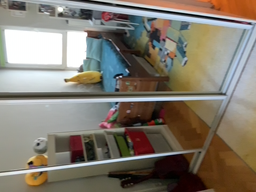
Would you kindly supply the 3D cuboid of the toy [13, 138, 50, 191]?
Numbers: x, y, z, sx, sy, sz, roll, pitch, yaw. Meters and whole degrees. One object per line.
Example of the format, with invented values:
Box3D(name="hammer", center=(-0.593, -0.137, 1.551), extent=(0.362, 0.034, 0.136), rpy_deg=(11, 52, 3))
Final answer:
Box3D(name="toy", center=(-0.980, 0.700, 2.200), extent=(0.460, 0.310, 0.230), rpy_deg=(-118, 34, -51))
